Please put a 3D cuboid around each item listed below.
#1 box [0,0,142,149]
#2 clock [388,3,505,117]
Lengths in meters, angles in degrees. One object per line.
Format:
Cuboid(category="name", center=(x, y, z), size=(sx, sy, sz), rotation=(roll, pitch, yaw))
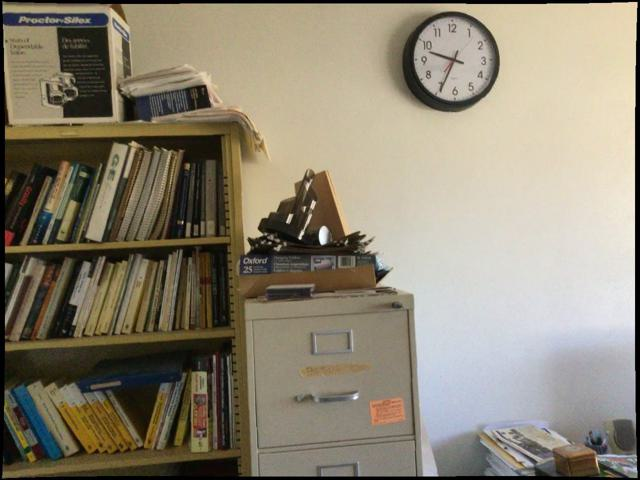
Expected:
Cuboid(category="box", center=(-0.788, -0.511, 1.780), size=(0.379, 0.391, 0.270), rotation=(-5, 0, -6))
Cuboid(category="clock", center=(0.459, -0.652, 2.090), size=(0.389, 0.381, 0.050), rotation=(-5, 0, -6))
